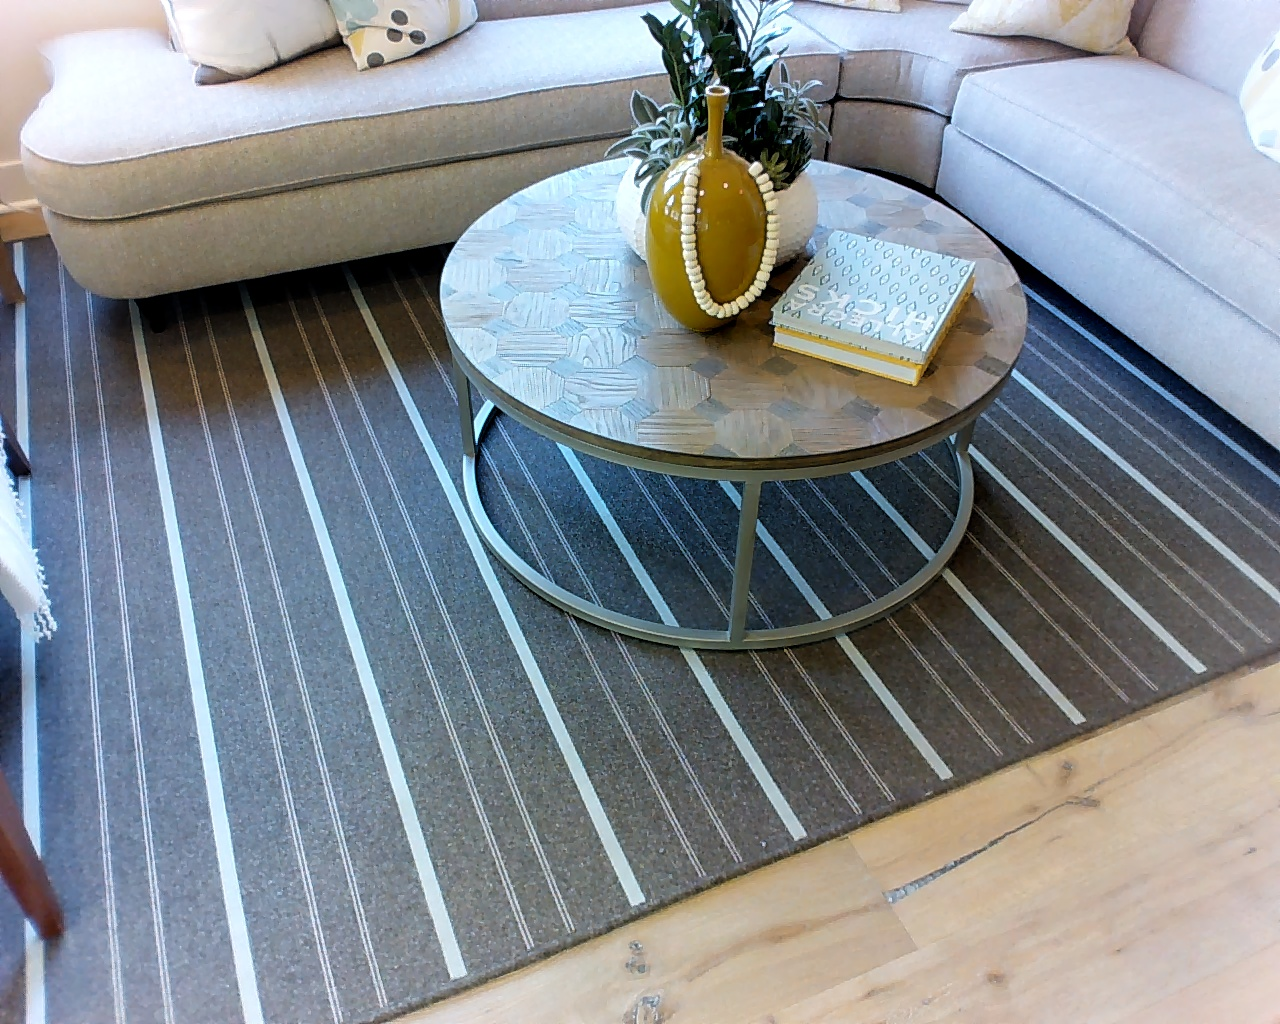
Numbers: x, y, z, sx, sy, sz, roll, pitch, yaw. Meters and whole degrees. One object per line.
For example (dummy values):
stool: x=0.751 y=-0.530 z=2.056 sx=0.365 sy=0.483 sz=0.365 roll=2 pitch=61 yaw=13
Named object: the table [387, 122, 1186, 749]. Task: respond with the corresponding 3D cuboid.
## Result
table: x=0.190 y=-0.260 z=2.150 sx=1.090 sy=0.480 sz=1.090 roll=-15 pitch=45 yaw=-17
